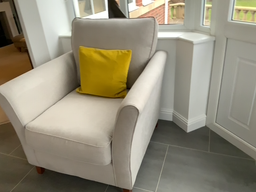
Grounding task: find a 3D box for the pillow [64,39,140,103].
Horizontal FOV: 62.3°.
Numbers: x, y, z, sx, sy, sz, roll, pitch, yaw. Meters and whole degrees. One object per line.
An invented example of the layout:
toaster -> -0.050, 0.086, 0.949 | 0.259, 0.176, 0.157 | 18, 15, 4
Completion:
pillow -> -0.190, -0.170, 1.570 | 0.440, 0.350, 0.230 | -11, 1, 25
